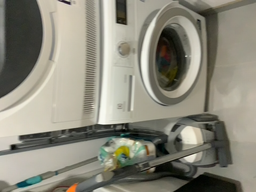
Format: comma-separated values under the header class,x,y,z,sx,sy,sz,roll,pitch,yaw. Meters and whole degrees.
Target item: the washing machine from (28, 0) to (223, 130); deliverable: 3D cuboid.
class,x,y,z,sx,sy,sz,roll,pitch,yaw
washing machine,-0.020,-0.210,1.320,0.860,0.850,0.650,-1,90,45
